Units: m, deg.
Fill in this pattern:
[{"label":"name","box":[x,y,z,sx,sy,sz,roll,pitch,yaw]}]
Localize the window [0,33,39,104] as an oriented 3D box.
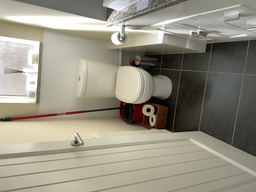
[{"label":"window","box":[-1.360,-0.270,1.890,0.140,0.990,0.630,16,101,59]}]
